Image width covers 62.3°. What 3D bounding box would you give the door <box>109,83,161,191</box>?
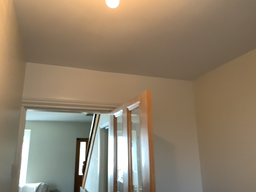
[{"bbox_3d":[0.010,0.980,1.590,0.070,1.990,0.880,5,-15,-20],"label":"door"}]
